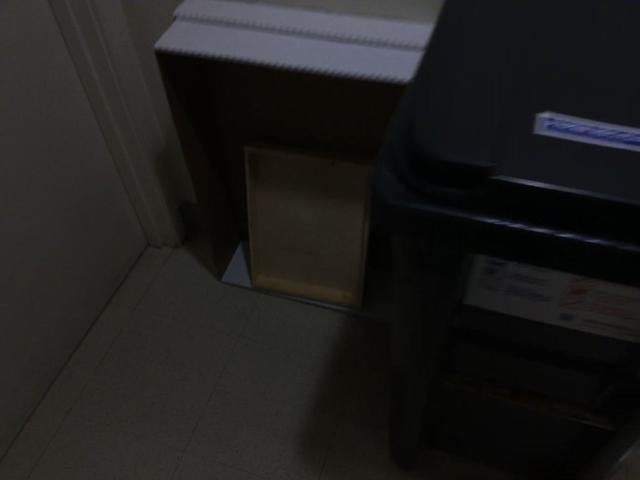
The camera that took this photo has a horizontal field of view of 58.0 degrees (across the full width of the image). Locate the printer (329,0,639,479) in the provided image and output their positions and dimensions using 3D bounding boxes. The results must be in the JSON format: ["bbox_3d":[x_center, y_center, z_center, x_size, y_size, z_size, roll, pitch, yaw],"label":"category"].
[{"bbox_3d":[0.370,0.060,0.950,0.480,0.940,0.590,9,49,16],"label":"printer"}]
